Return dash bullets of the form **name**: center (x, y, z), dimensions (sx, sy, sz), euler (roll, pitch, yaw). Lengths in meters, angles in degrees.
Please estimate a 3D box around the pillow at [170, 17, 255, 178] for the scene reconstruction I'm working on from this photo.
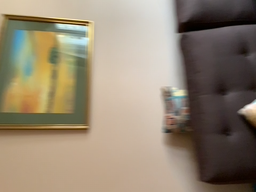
- **pillow**: center (0.610, 0.000, 1.340), dimensions (0.280, 0.510, 0.940), euler (115, 154, -68)
